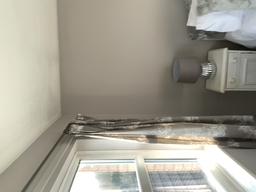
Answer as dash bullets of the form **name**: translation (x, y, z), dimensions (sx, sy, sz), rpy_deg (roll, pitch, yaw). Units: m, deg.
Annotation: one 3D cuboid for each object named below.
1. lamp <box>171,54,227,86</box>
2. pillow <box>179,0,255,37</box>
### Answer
- **lamp**: translation (0.700, -0.270, 2.150), dimensions (0.280, 0.440, 0.290), rpy_deg (-109, 20, -78)
- **pillow**: translation (0.740, -0.920, 1.800), dimensions (0.750, 0.350, 0.730), rpy_deg (-111, 22, -79)
